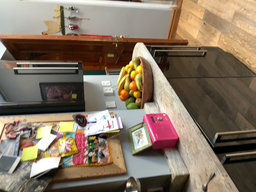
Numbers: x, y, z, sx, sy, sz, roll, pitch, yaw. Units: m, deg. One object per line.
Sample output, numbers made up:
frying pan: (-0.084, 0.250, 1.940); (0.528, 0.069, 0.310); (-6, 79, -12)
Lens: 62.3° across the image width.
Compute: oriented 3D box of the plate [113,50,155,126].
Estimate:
plate: (0.020, -0.080, 1.670); (0.470, 0.180, 0.400); (-110, 23, -52)

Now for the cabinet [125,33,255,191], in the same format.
cabinet: (0.620, 0.180, 1.560); (1.760, 0.890, 0.620); (-109, 22, -51)

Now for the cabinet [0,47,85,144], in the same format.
cabinet: (-0.720, -0.060, 1.630); (0.800, 0.720, 0.310); (-109, 22, -51)
